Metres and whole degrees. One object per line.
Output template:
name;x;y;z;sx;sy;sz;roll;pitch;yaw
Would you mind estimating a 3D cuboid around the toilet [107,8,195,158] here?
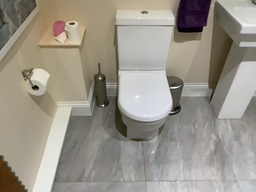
toilet;0.100;-0.080;1.470;0.400;0.800;0.650;1;42;-1
